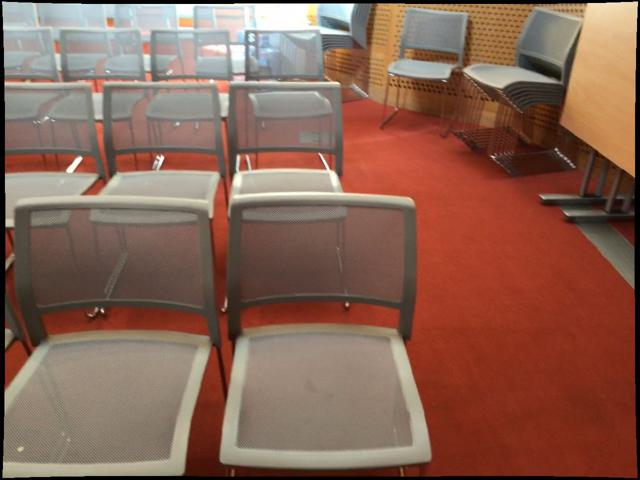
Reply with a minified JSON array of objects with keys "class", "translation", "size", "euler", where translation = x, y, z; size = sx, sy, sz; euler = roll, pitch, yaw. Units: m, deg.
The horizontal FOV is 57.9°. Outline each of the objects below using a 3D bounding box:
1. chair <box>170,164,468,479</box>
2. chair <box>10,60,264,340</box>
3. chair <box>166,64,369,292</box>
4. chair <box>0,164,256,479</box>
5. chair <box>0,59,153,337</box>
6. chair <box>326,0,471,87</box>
[{"class":"chair","translation":[0.020,0.260,1.420],"size":[0.519,0.701,0.570],"euler":[-4,27,2]},{"class":"chair","translation":[-0.629,-0.180,2.330],"size":[0.699,0.901,0.610],"euler":[-6,27,-2]},{"class":"chair","translation":[-0.180,-0.270,2.340],"size":[0.659,0.711,0.560],"euler":[-6,27,-2]},{"class":"chair","translation":[-0.480,0.370,1.430],"size":[0.519,0.921,0.580],"euler":[-6,27,-2]},{"class":"chair","translation":[-1.149,-0.180,2.330],"size":[0.649,0.911,0.620],"euler":[-6,27,-2]},{"class":"chair","translation":[0.659,-1.772,4.880],"size":[0.909,0.681,0.760],"euler":[-21,31,-29]}]
